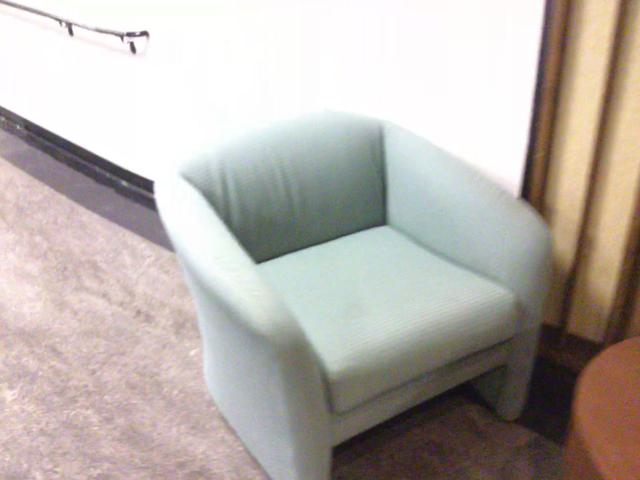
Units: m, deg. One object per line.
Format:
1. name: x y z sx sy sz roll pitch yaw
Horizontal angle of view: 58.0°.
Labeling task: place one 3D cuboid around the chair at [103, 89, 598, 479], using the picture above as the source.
1. chair: 0.060 0.100 1.670 0.900 0.870 0.950 -19 26 -31
